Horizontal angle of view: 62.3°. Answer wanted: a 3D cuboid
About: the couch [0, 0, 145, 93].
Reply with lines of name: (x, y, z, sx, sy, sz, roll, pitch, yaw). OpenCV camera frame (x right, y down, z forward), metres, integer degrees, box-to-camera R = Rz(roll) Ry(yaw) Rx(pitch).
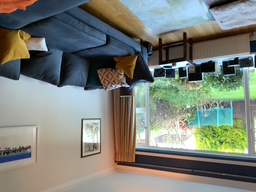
couch: (-0.910, -0.650, 2.530, 1.070, 0.850, 3.040, -3, 173, 29)
